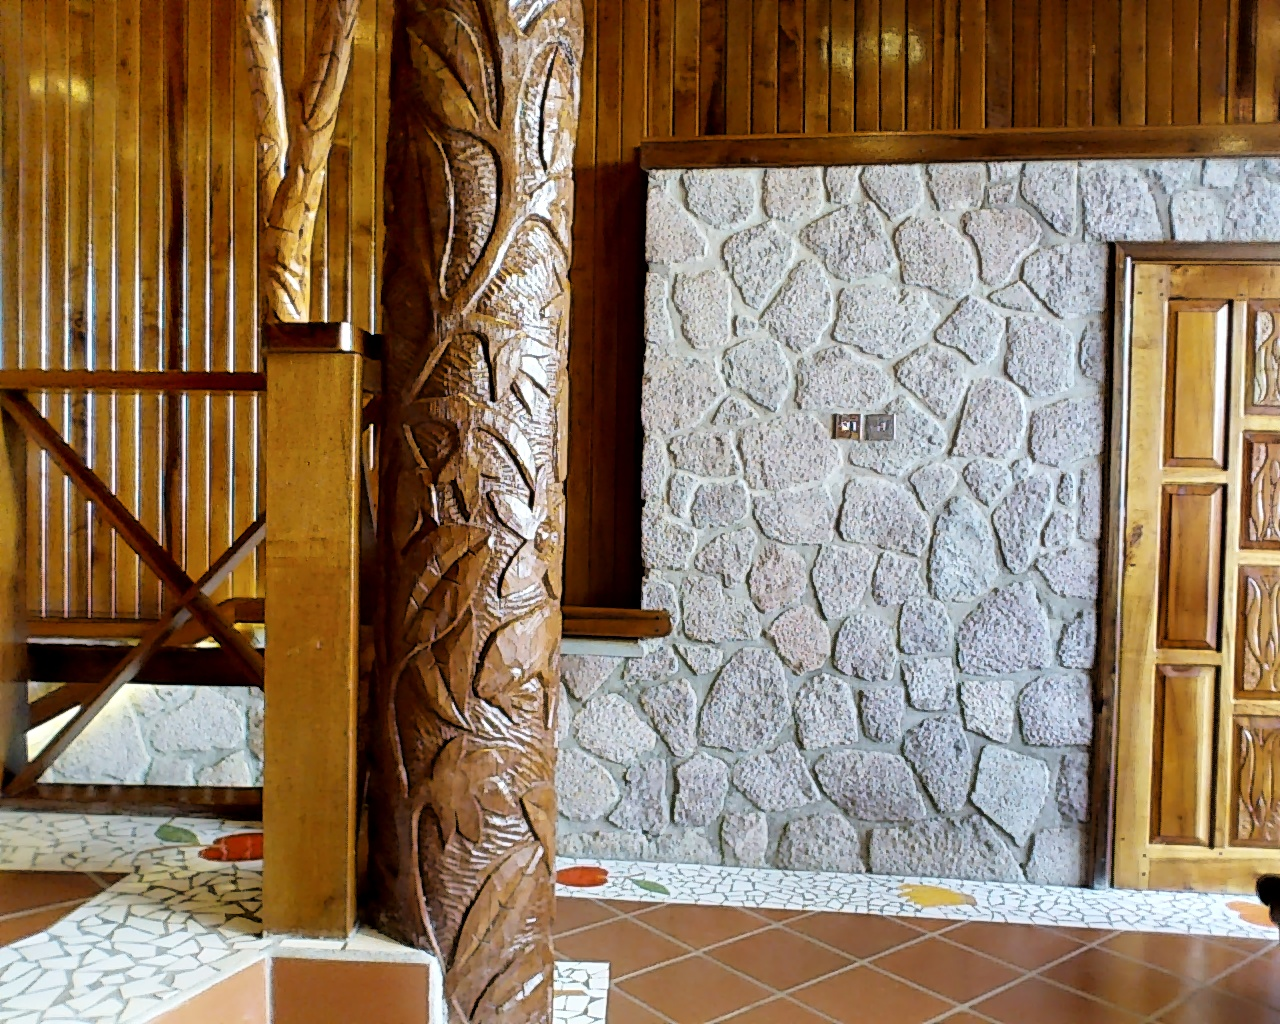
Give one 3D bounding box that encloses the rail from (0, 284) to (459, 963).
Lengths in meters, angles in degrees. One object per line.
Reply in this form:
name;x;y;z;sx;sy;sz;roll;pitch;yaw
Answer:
rail;-0.980;0.160;2.120;1.060;1.050;0.860;1;1;2
